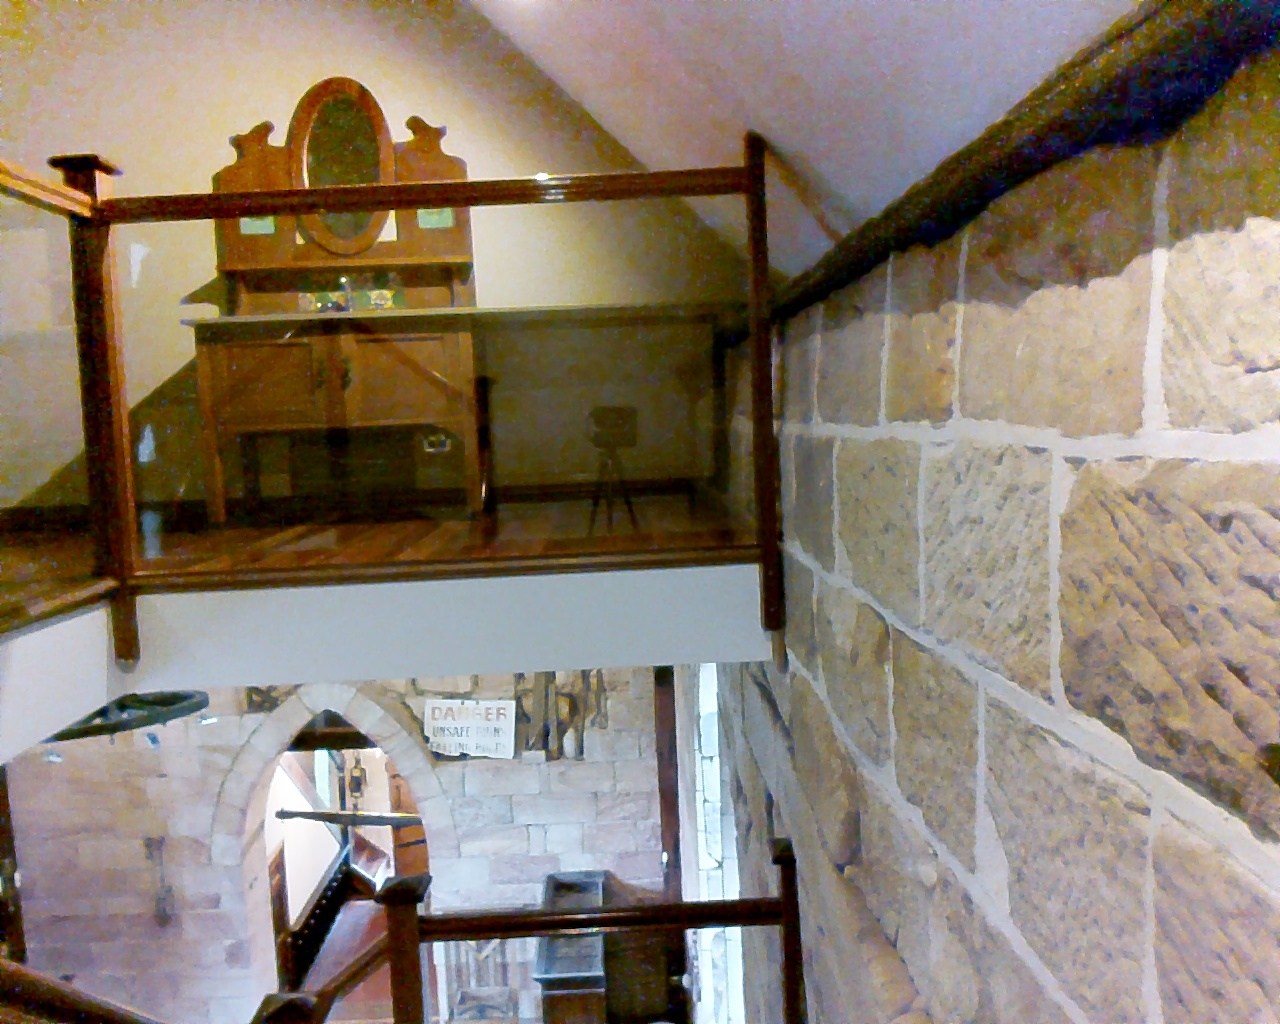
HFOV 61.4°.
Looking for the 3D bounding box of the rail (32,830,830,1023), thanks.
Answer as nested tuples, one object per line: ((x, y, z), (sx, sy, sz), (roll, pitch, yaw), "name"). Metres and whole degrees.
((-0.540, 1.941, 3.160), (2.169, 1.881, 0.280), (-2, 5, 0), "rail")
